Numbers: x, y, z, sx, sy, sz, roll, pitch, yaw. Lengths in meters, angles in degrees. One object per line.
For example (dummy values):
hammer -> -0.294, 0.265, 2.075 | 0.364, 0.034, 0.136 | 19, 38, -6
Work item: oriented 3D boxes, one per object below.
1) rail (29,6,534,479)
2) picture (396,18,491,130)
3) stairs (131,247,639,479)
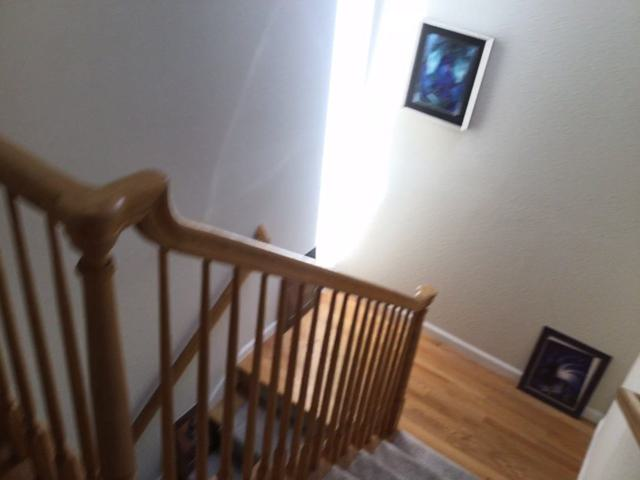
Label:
rail -> 0.040, 0.390, 1.940 | 0.240, 1.950, 1.630 | 26, 40, 24
picture -> 0.660, -0.910, 3.180 | 0.430, 0.500, 0.050 | 26, 40, 25
stairs -> 0.280, 0.960, 1.940 | 1.080, 1.070, 1.300 | 26, 40, 24
